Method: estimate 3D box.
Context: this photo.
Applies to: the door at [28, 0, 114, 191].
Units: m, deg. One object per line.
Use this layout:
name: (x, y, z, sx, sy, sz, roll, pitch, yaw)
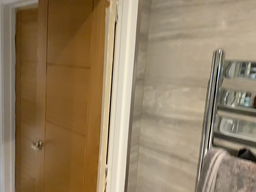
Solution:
door: (-0.390, 0.330, 1.200, 0.640, 2.010, 0.060, 12, 10, 42)
